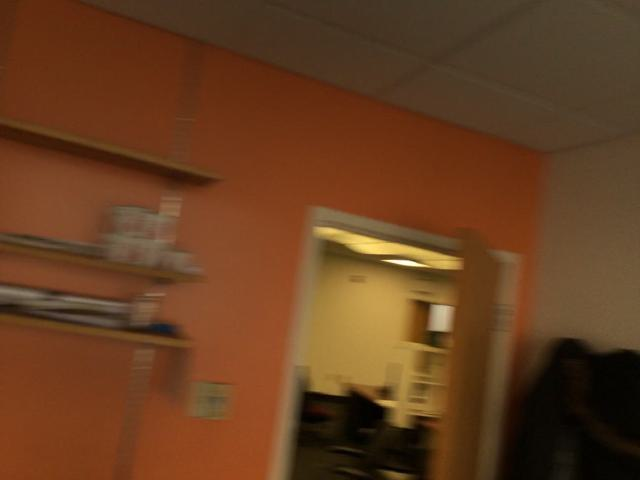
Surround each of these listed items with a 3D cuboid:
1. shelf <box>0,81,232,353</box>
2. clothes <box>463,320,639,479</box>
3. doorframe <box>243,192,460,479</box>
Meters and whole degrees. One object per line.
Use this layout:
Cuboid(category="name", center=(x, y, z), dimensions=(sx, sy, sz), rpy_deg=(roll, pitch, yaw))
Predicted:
Cuboid(category="shelf", center=(-1.060, -0.120, 1.620), dimensions=(1.470, 0.630, 0.390), rpy_deg=(13, -8, -22))
Cuboid(category="clothes", center=(0.850, 1.130, 2.000), dimensions=(0.240, 1.610, 0.890), rpy_deg=(13, -8, -22))
Cuboid(category="doorframe", center=(0.060, 0.930, 2.250), dimensions=(0.670, 2.120, 0.230), rpy_deg=(13, -8, -22))
